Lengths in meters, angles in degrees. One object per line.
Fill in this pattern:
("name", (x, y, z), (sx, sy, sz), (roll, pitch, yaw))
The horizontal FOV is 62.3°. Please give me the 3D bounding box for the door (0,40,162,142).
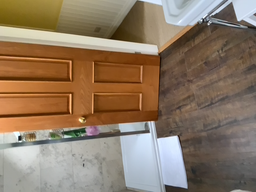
("door", (-0.570, -0.040, 1.930), (0.120, 2.020, 0.790), (18, 106, 61))
